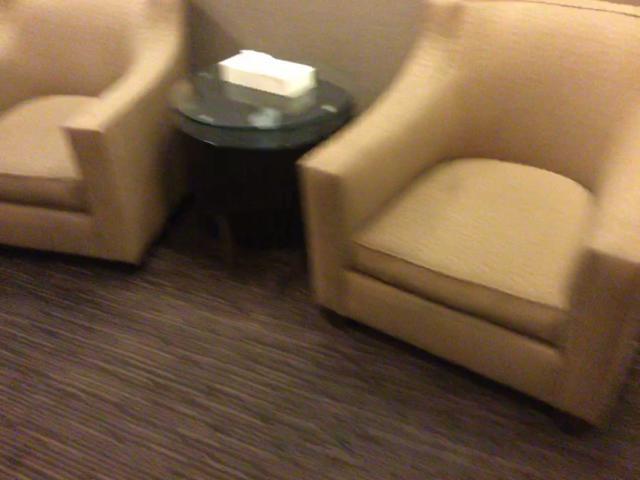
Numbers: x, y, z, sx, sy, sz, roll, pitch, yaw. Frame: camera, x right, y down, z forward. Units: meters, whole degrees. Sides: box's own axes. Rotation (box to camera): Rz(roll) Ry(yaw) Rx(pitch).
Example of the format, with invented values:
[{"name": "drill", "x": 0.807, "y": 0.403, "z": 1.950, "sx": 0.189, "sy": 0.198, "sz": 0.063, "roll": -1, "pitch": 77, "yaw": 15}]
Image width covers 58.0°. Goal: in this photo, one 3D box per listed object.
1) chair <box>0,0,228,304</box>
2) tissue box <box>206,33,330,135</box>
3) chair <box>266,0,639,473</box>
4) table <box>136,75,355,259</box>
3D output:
[{"name": "chair", "x": -0.930, "y": -0.480, "z": 2.140, "sx": 0.880, "sy": 0.900, "sz": 0.980, "roll": 7, "pitch": 34, "yaw": 6}, {"name": "tissue box", "x": -0.170, "y": -0.530, "z": 1.940, "sx": 0.340, "sy": 0.230, "sz": 0.220, "roll": 14, "pitch": 35, "yaw": 16}, {"name": "chair", "x": 0.530, "y": -0.170, "z": 1.700, "sx": 0.910, "sy": 0.930, "sz": 0.940, "roll": 19, "pitch": 38, "yaw": 30}, {"name": "table", "x": -0.230, "y": -0.260, "z": 1.920, "sx": 0.580, "sy": 0.390, "sz": 0.360, "roll": 14, "pitch": 35, "yaw": 16}]
